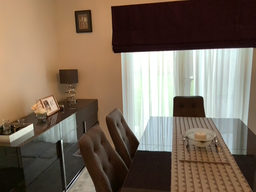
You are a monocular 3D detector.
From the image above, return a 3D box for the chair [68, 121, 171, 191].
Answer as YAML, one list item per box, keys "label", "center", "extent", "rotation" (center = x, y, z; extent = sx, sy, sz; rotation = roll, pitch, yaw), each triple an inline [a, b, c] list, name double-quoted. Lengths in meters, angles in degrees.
- label: "chair"
  center: [-0.010, 0.710, 1.520]
  extent: [0.600, 0.940, 0.450]
  rotation: [1, 12, 11]

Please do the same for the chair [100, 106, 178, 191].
- label: "chair"
  center: [0.130, 0.620, 1.990]
  extent: [0.620, 0.940, 0.470]
  rotation: [1, 12, 11]
